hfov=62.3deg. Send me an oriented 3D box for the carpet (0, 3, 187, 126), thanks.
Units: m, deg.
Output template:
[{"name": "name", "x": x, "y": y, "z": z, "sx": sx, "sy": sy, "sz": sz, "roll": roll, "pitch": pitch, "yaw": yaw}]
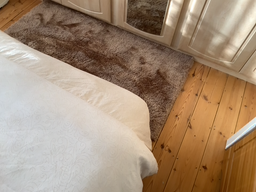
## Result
[{"name": "carpet", "x": -0.310, "y": -0.340, "z": 1.710, "sx": 1.450, "sy": 0.030, "sz": 0.650, "roll": 24, "pitch": 59, "yaw": 11}]
